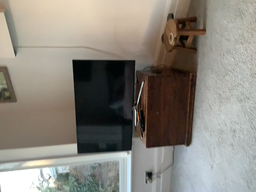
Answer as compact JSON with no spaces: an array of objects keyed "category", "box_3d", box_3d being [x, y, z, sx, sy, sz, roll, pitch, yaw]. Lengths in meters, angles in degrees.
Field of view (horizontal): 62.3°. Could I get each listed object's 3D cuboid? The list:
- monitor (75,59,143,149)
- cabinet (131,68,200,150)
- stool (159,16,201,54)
[{"category":"monitor","box_3d":[-0.170,0.080,1.980,0.060,0.590,0.840,-126,35,-68]},{"category":"cabinet","box_3d":[0.330,0.080,2.110,0.520,0.490,0.680,-138,47,-73]},{"category":"stool","box_3d":[0.450,-0.540,1.890,0.270,0.250,0.300,-129,39,-70]}]
